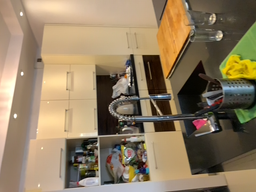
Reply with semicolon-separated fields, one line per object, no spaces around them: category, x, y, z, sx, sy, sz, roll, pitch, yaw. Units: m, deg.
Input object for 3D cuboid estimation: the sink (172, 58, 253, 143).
sink;0.470;0.050;1.310;0.450;0.200;0.350;106;161;-60
